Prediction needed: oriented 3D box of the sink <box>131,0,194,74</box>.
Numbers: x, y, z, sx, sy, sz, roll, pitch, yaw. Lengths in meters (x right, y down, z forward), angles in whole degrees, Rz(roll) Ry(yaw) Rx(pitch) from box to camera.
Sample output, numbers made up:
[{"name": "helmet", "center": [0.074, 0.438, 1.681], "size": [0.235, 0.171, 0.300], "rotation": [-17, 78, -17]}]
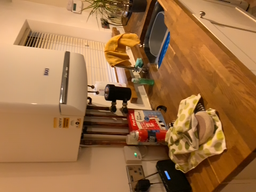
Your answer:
[{"name": "sink", "center": [0.230, -0.480, 1.630], "size": [0.370, 0.230, 0.470], "rotation": [-106, 26, -48]}]
